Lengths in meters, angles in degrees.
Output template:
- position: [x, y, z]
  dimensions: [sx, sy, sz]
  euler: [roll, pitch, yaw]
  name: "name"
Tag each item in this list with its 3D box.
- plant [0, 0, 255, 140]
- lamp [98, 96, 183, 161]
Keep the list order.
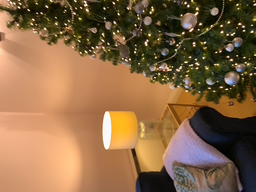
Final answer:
- position: [0.130, -0.390, 1.410]
  dimensions: [0.930, 1.690, 0.980]
  euler: [-106, 26, -45]
  name: "plant"
- position: [0.080, 0.290, 1.920]
  dimensions: [0.410, 0.610, 0.370]
  euler: [-111, 30, -51]
  name: "lamp"
